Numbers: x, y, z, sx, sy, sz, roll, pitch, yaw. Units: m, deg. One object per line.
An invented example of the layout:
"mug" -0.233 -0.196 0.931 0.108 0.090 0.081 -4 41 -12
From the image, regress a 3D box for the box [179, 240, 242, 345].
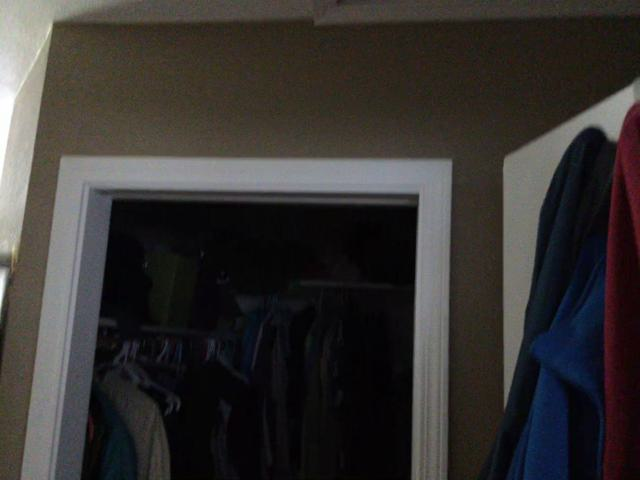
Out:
"box" -0.470 0.240 2.530 0.150 0.410 0.310 4 -12 5

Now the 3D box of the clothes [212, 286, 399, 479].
"clothes" -0.040 0.690 2.590 0.720 0.870 0.400 4 -12 5

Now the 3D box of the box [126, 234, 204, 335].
"box" -0.590 0.180 2.240 0.160 0.340 0.300 4 -12 5
